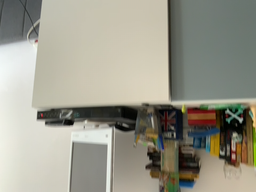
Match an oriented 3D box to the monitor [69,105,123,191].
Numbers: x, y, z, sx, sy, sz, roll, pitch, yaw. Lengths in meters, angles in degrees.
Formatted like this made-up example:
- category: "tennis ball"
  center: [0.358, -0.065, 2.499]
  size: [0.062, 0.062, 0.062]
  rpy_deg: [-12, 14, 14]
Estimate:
- category: "monitor"
  center: [-0.170, 0.290, 0.970]
  size: [0.040, 0.430, 0.550]
  rpy_deg: [7, 168, -28]
